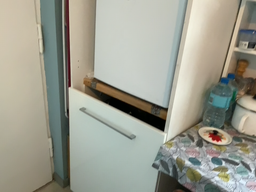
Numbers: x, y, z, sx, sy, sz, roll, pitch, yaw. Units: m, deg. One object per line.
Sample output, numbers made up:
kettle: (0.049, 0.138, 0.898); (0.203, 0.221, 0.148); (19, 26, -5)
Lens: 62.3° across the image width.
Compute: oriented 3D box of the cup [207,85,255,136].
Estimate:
cup: (0.490, 0.060, 0.990); (0.150, 0.160, 0.150); (25, 30, 38)
